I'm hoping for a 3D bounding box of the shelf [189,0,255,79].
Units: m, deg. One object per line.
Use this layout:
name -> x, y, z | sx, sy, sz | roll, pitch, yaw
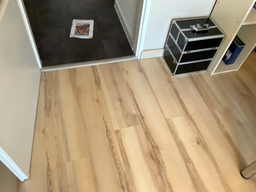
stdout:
shelf -> 0.860, -0.770, 1.390 | 0.300, 1.500, 0.350 | -10, 54, -15
